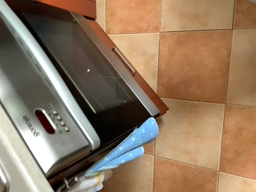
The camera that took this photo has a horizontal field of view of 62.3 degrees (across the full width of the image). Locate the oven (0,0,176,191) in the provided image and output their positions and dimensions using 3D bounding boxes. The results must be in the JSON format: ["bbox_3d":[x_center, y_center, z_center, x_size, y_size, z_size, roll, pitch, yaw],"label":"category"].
[{"bbox_3d":[-0.330,0.050,0.900,0.600,0.860,0.610,-44,77,25],"label":"oven"}]
